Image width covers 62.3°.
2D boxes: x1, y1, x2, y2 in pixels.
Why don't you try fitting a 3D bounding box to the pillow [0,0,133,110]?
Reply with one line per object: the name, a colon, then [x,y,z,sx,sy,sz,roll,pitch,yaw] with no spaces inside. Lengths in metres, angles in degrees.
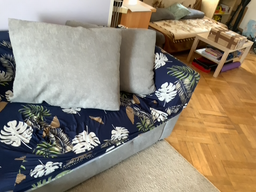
pillow: [-0.410,-0.190,1.400,0.720,0.520,0.300,13,62,-28]
